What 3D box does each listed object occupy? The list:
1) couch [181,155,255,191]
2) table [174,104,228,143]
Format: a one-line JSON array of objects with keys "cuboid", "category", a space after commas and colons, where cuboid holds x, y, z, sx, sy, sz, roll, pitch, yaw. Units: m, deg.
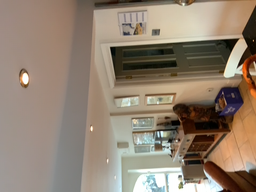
[{"cuboid": [1.350, 1.530, 2.830, 1.080, 0.940, 1.200, 72, -166, -85], "category": "couch"}, {"cuboid": [1.390, 0.550, 4.170, 0.590, 0.810, 0.500, 85, -178, -57], "category": "table"}]
